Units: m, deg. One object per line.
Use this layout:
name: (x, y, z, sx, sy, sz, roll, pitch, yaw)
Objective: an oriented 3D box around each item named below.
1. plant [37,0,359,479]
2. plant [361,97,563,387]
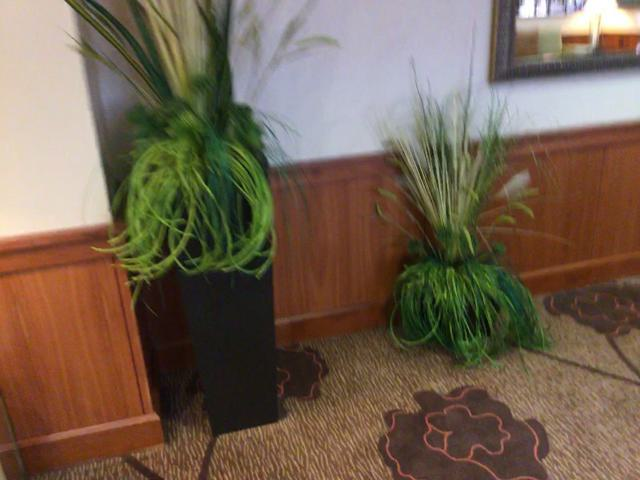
plant: (-0.360, -0.160, 1.850, 0.600, 1.850, 0.440, -14, 19, -12)
plant: (0.600, -0.020, 2.430, 0.590, 1.020, 0.470, -14, 19, -12)
